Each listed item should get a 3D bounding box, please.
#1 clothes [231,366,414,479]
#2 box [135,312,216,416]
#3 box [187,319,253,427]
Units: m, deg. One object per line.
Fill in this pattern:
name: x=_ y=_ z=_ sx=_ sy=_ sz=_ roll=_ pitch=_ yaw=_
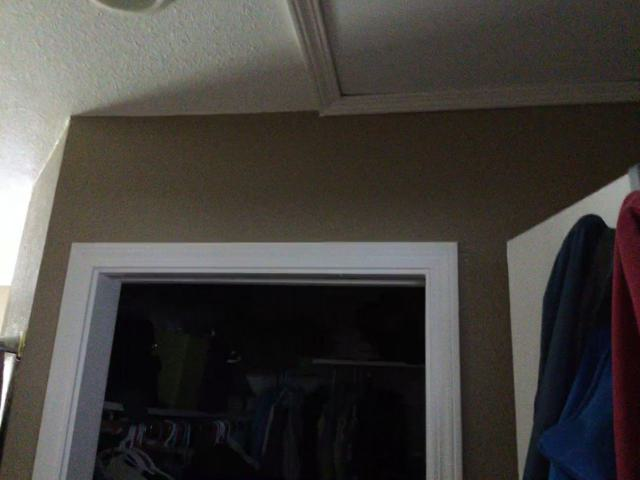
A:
clothes: x=0.020 y=1.030 z=2.480 sx=0.720 sy=0.870 sz=0.400 roll=2 pitch=-20 yaw=7
box: x=-0.540 y=0.480 z=2.210 sx=0.160 sy=0.340 sz=0.300 roll=2 pitch=-20 yaw=7
box: x=-0.420 y=0.580 z=2.490 sx=0.150 sy=0.410 sz=0.310 roll=2 pitch=-20 yaw=7
